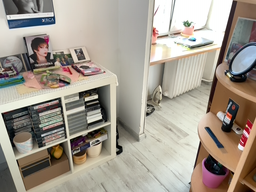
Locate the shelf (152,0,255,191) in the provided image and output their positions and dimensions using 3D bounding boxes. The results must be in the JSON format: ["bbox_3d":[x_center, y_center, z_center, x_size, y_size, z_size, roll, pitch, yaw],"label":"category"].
[{"bbox_3d":[0.460,0.230,1.130,0.410,1.310,0.400,-18,36,-31],"label":"shelf"}]
